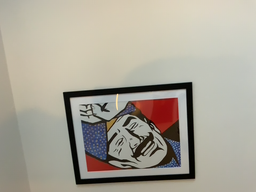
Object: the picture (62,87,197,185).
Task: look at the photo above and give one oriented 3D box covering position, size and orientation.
[{"bbox_3d":[0.020,0.260,1.330,0.060,0.790,0.580,-74,-20,-80],"label":"picture"}]
